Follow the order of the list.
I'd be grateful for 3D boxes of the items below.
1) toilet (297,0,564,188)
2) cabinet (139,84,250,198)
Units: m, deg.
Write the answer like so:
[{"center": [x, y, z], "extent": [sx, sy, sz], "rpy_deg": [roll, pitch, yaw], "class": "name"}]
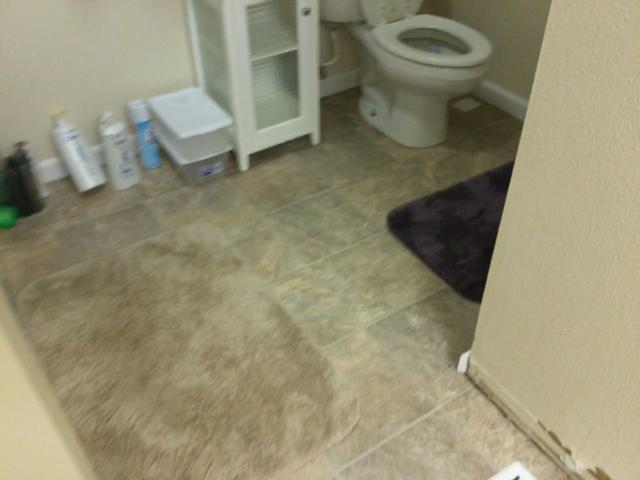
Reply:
[{"center": [0.380, -0.820, 2.200], "extent": [0.630, 0.830, 0.750], "rpy_deg": [-24, 45, -25], "class": "toilet"}, {"center": [-0.470, -0.380, 2.160], "extent": [0.240, 0.230, 0.380], "rpy_deg": [-24, 45, -25], "class": "cabinet"}]
